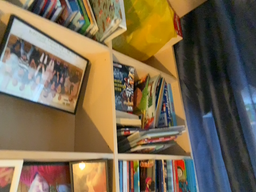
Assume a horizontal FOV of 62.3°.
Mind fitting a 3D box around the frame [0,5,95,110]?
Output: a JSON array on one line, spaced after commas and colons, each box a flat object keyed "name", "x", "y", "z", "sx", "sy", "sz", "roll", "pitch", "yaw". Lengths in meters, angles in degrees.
[{"name": "frame", "x": -0.270, "y": -0.100, "z": 0.680, "sx": 0.100, "sy": 0.210, "sz": 0.290, "roll": -9, "pitch": 155, "yaw": 43}]
